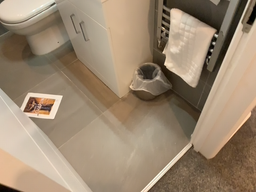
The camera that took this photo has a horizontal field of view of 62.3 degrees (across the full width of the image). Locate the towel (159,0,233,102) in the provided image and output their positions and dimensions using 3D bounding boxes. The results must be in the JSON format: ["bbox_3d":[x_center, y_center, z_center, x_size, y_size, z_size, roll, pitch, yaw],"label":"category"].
[{"bbox_3d":[0.330,-0.220,1.170,0.280,0.510,0.120,38,67,25],"label":"towel"}]

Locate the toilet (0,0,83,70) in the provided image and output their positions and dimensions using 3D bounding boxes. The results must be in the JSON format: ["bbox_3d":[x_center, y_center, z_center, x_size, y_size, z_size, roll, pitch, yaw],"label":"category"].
[{"bbox_3d":[-0.770,-0.630,1.830,0.510,0.470,0.420,-38,62,-19],"label":"toilet"}]
